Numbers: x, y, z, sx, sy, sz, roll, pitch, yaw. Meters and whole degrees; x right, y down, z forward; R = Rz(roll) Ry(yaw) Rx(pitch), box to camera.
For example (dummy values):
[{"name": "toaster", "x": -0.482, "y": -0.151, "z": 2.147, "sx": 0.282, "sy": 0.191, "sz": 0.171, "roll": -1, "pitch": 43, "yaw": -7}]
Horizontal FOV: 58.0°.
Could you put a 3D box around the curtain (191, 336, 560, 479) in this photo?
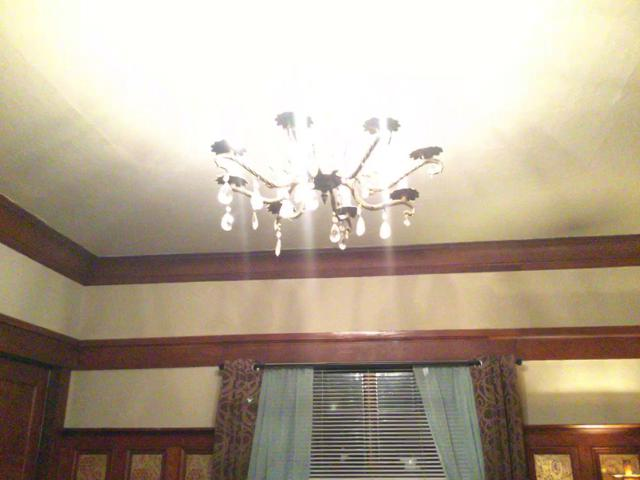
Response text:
[{"name": "curtain", "x": 0.260, "y": 1.190, "z": 3.070, "sx": 1.860, "sy": 1.230, "sz": 0.270, "roll": -4, "pitch": -23, "yaw": 8}]

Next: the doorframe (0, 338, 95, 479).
[{"name": "doorframe", "x": -1.580, "y": 1.580, "z": 2.840, "sx": 0.180, "sy": 2.010, "sz": 0.950, "roll": -3, "pitch": -23, "yaw": 8}]

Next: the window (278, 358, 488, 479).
[{"name": "window", "x": 0.330, "y": 1.270, "z": 3.120, "sx": 1.100, "sy": 1.190, "sz": 0.150, "roll": -4, "pitch": -23, "yaw": 8}]
